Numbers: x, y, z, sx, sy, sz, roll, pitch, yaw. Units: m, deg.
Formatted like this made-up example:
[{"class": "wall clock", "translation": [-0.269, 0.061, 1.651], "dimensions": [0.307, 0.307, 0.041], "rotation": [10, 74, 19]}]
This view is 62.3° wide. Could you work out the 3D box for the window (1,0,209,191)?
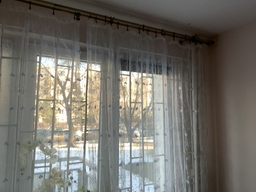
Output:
[{"class": "window", "translation": [-0.020, 0.230, 1.880], "dimensions": [1.850, 2.010, 0.220], "rotation": [4, -6, -29]}]
